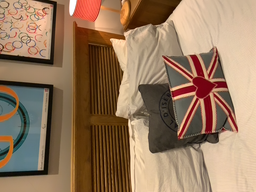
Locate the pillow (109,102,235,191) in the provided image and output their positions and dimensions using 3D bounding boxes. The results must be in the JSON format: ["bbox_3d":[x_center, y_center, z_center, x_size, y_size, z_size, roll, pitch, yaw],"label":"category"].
[{"bbox_3d":[0.270,0.470,1.270,0.220,0.550,0.670,29,-143,-66],"label":"pillow"}]

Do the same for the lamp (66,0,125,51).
[{"bbox_3d":[-0.310,-0.650,1.970,0.230,0.480,0.330,134,134,-59],"label":"lamp"}]

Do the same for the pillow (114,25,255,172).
[{"bbox_3d":[0.300,0.030,1.190,0.230,0.570,0.580,30,-144,-61],"label":"pillow"}]

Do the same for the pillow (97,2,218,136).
[{"bbox_3d":[0.180,-0.180,1.580,0.220,0.590,0.740,9,-129,-60],"label":"pillow"}]
